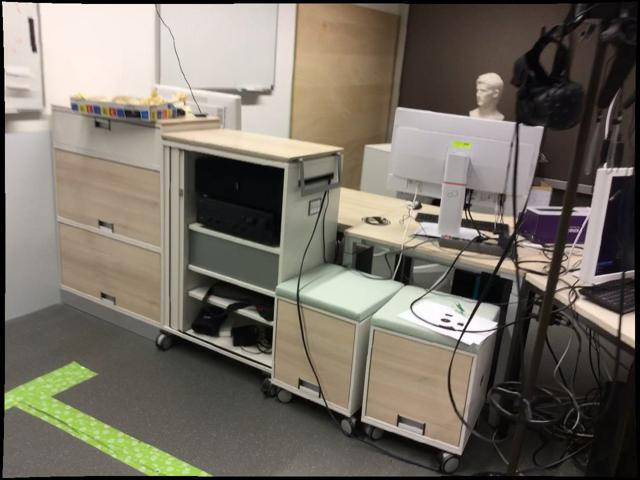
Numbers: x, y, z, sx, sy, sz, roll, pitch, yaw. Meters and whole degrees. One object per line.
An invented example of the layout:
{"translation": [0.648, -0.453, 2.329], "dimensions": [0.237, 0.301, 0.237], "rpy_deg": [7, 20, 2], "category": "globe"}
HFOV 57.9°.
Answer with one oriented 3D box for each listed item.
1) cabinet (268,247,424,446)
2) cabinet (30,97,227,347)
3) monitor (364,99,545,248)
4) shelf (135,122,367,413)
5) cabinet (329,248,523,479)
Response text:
{"translation": [0.110, 0.420, 2.490], "dimensions": [0.440, 0.581, 0.520], "rpy_deg": [14, 22, 31], "category": "cabinet"}
{"translation": [-1.009, -0.150, 3.140], "dimensions": [0.809, 1.131, 0.550], "rpy_deg": [14, 22, 31], "category": "cabinet"}
{"translation": [0.569, -0.310, 2.530], "dimensions": [0.679, 0.530, 0.250], "rpy_deg": [11, 21, 24], "category": "monitor"}
{"translation": [-0.320, 0.060, 2.740], "dimensions": [0.829, 1.091, 0.600], "rpy_deg": [14, 22, 31], "category": "shelf"}
{"translation": [0.420, 0.460, 2.320], "dimensions": [0.540, 0.641, 0.540], "rpy_deg": [14, 22, 31], "category": "cabinet"}
